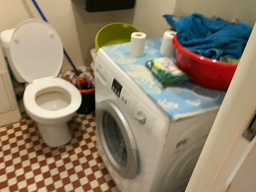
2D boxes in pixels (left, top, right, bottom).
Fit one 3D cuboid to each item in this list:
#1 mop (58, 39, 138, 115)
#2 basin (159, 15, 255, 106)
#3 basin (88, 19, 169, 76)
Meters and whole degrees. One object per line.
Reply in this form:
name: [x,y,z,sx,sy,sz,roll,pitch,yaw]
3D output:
mop: [-0.280,-0.200,2.010,0.610,0.510,0.330,-16,42,-27]
basin: [0.380,-0.180,0.910,0.320,0.210,0.350,-14,41,-25]
basin: [-0.010,-0.370,1.530,0.420,0.210,0.390,-17,42,-28]
